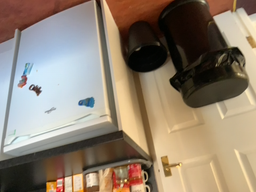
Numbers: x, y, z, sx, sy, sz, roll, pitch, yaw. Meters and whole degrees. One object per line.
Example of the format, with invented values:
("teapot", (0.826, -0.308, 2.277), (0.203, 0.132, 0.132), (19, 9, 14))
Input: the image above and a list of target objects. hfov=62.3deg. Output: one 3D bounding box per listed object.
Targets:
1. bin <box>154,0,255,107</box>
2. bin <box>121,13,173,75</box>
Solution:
("bin", (0.450, -0.330, 1.320), (0.400, 0.660, 0.270), (-16, 150, 11))
("bin", (0.140, -0.370, 1.550), (0.280, 0.290, 0.230), (-16, 150, 12))
